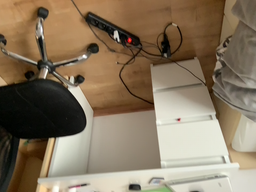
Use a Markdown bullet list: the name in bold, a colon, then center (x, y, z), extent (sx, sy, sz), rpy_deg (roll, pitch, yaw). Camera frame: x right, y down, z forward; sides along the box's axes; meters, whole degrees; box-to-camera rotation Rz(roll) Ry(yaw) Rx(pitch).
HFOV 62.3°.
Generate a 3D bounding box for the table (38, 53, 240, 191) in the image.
- **table**: center (0.060, 0.220, 1.360), extent (0.900, 0.730, 0.500), rpy_deg (-7, 141, 7)
